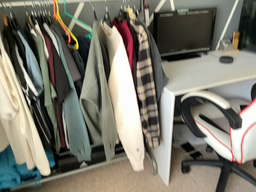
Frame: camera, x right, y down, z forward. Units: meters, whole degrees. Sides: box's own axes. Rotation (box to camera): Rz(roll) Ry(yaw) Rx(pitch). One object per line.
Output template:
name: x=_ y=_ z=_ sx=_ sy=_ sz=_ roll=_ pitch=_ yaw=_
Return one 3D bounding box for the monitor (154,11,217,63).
monitor: x=0.450 y=-0.470 z=1.680 sx=0.520 sy=0.340 sz=0.040 roll=-11 pitch=27 yaw=-16
